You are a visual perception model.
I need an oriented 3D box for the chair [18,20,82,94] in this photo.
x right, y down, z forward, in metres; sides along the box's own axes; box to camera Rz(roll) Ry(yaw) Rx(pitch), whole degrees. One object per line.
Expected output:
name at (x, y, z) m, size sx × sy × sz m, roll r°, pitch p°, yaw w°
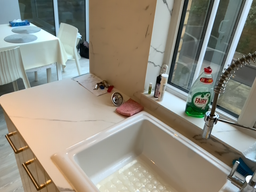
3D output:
chair at (-1.060, -0.570, 2.980) m, size 0.530 × 0.790 × 0.600 m, roll 30°, pitch 39°, yaw 34°

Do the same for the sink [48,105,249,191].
sink at (0.070, 0.350, 0.890) m, size 0.550 × 0.220 × 0.570 m, roll -22°, pitch 41°, yaw -38°

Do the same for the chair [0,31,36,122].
chair at (-1.450, -0.220, 2.330) m, size 0.530 × 0.790 × 0.580 m, roll -22°, pitch 41°, yaw -38°
